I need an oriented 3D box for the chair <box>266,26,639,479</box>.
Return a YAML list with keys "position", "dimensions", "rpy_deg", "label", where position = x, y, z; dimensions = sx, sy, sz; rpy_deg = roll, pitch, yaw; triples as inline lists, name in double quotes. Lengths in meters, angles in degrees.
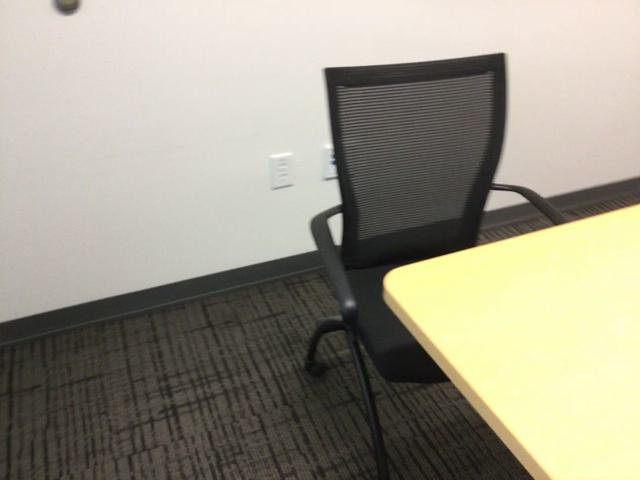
- position: [0.260, 0.080, 1.330]
  dimensions: [0.560, 0.930, 0.590]
  rpy_deg: [-12, 33, -14]
  label: "chair"
